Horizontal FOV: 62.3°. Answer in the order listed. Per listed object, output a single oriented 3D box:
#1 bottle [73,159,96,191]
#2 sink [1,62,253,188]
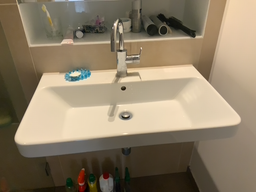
[{"bbox_3d":[-0.270,0.560,1.350,0.120,0.200,0.220,-5,34,-8],"label":"bottle"},{"bbox_3d":[-0.010,0.070,0.910,0.780,0.200,0.490,-4,34,-6],"label":"sink"}]
